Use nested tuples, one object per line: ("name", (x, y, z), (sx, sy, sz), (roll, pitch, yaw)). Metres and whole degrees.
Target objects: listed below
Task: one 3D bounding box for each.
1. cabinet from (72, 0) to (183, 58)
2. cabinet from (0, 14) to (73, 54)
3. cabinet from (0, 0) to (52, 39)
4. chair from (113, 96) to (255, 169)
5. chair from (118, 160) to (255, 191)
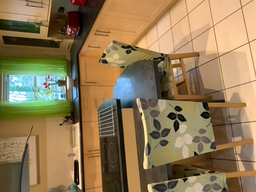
("cabinet", (-0.060, -1.230, 2.720), (2.300, 0.890, 0.610), (153, 114, -63))
("cabinet", (-1.620, -1.040, 3.650), (0.520, 1.210, 0.350), (153, 114, -63))
("cabinet", (-1.340, -1.280, 2.530), (1.800, 0.790, 0.350), (153, 114, -63))
("chair", (0.420, 0.260, 1.660), (0.500, 0.920, 0.420), (153, 114, -63))
("chair", (0.470, 0.760, 1.550), (0.520, 0.920, 0.420), (153, 114, -63))
